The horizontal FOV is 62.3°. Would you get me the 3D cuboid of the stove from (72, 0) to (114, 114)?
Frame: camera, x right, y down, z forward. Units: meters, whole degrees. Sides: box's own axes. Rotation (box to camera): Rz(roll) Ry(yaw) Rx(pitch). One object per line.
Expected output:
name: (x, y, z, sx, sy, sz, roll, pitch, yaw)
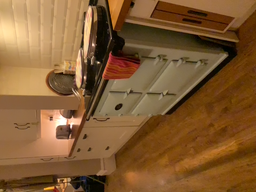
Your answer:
stove: (-0.340, -0.360, 1.750, 0.980, 0.090, 0.670, 125, 141, -54)
